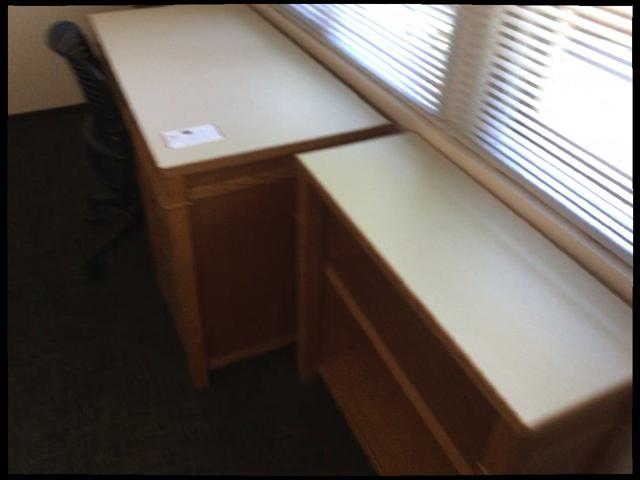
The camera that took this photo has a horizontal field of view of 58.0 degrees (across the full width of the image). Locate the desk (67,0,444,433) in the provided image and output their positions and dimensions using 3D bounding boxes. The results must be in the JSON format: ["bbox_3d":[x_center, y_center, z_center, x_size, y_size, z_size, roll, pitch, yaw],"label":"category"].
[{"bbox_3d":[-0.329,-0.250,1.980,0.719,0.781,1.390,-14,40,-20],"label":"desk"}]

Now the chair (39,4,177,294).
[{"bbox_3d":[-0.679,-0.301,1.860,0.210,0.711,0.590,-14,40,-20],"label":"chair"}]

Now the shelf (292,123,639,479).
[{"bbox_3d":[0.289,0.331,1.260,0.369,0.781,0.950,-14,40,-20],"label":"shelf"}]
